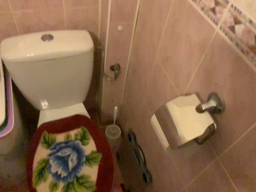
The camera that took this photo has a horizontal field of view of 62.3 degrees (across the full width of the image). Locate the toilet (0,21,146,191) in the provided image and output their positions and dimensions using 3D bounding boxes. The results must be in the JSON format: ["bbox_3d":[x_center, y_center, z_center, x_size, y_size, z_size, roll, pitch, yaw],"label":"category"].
[{"bbox_3d":[-0.300,0.200,1.010,0.380,0.760,0.740,-10,53,-18],"label":"toilet"}]
